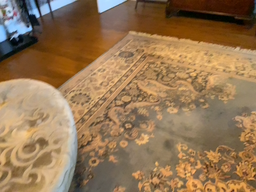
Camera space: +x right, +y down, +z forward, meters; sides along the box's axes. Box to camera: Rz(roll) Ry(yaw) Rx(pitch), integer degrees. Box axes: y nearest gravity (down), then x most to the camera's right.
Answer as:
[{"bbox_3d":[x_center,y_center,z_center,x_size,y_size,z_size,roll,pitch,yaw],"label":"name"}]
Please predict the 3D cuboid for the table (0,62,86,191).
[{"bbox_3d":[-0.620,0.300,1.080,0.710,0.360,1.050,-11,40,-9],"label":"table"}]
